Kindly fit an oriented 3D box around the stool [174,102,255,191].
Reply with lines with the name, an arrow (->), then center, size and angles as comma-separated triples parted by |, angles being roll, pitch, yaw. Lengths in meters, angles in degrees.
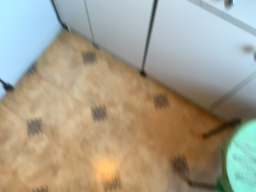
stool -> 0.470, 0.310, 0.900 | 0.330, 0.460, 0.320 | 33, 73, 9
